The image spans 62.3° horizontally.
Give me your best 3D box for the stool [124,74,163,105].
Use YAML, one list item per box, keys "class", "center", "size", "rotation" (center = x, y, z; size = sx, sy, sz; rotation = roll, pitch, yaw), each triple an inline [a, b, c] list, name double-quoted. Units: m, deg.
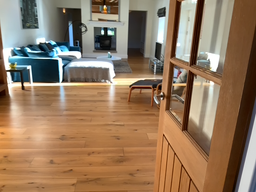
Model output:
- class: "stool"
  center: [0.320, -0.150, 4.380]
  size: [0.570, 0.420, 0.620]
  rotation: [12, 20, 26]
